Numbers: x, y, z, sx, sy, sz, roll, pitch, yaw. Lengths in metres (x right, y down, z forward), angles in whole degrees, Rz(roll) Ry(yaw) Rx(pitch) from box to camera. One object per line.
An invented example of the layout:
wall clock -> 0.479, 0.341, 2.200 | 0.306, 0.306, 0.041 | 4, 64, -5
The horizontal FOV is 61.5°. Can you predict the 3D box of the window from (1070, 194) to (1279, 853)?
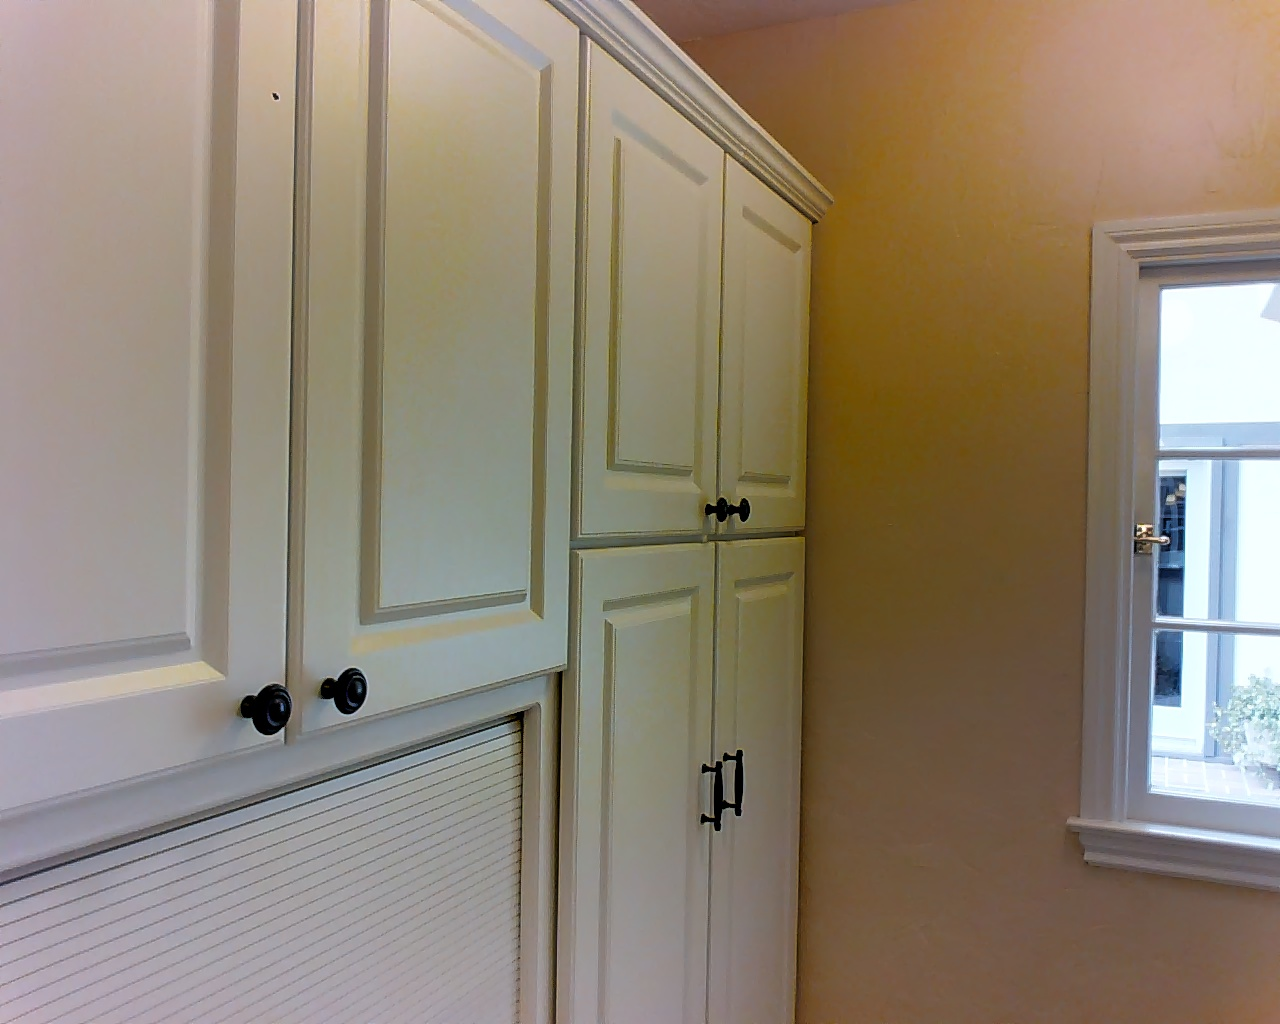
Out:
window -> 1.130, 0.020, 1.750 | 0.770, 1.060, 0.120 | 1, 1, 26
